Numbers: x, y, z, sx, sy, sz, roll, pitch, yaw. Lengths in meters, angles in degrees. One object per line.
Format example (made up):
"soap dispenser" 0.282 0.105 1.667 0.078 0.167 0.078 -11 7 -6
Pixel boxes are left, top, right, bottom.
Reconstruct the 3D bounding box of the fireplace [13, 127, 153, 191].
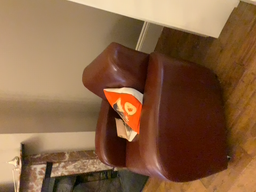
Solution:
"fireplace" -0.670 1.250 2.530 0.710 1.220 1.640 56 134 46
